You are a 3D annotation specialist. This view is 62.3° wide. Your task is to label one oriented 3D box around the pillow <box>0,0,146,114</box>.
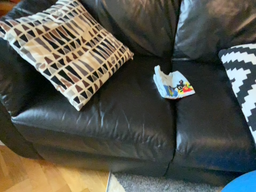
[{"bbox_3d":[-0.300,-0.260,0.990,0.410,0.170,0.650,-29,53,-31],"label":"pillow"}]
